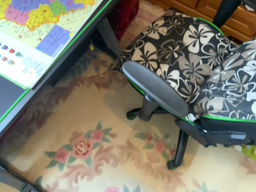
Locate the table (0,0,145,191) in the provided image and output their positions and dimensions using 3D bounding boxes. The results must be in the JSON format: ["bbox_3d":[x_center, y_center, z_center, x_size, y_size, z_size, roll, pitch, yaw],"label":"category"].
[{"bbox_3d":[-0.480,-0.170,1.040,0.660,0.760,1.090,29,67,8],"label":"table"}]
